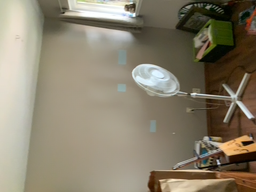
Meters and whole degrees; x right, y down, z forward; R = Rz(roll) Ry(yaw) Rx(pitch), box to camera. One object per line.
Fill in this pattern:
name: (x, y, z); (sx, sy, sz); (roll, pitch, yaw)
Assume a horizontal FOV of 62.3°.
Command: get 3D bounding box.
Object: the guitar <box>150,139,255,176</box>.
guitar: (0.740, 0.550, 1.930); (0.310, 1.070, 0.150); (-34, -63, -83)
